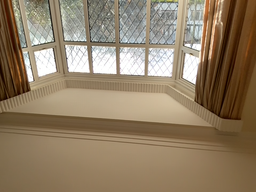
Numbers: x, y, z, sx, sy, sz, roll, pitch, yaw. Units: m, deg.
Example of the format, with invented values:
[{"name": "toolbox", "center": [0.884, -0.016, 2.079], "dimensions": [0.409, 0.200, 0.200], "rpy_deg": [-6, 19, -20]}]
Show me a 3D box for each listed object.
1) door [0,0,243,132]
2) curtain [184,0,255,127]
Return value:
[{"name": "door", "center": [-0.310, -0.870, 2.890], "dimensions": [2.930, 2.140, 1.300], "rpy_deg": [3, -155, 6]}, {"name": "curtain", "center": [1.100, -0.620, 2.360], "dimensions": [0.290, 1.810, 0.700], "rpy_deg": [-21, -148, -37]}]
